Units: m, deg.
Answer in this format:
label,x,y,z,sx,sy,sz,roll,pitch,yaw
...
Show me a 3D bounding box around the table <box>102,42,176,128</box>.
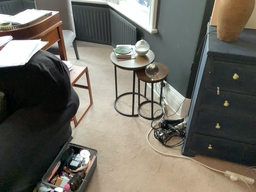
label,x,y,z,sx,sy,sz,roll,pitch,yaw
table,0.100,-0.110,2.030,0.540,0.590,0.390,17,42,19
